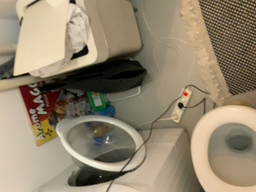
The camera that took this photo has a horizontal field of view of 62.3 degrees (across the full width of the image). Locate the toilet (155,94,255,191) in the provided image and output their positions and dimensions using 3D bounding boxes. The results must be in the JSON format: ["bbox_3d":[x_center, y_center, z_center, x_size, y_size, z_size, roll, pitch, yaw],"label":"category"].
[{"bbox_3d":[0.470,0.390,0.890,0.360,0.800,0.600,-10,99,27],"label":"toilet"}]
